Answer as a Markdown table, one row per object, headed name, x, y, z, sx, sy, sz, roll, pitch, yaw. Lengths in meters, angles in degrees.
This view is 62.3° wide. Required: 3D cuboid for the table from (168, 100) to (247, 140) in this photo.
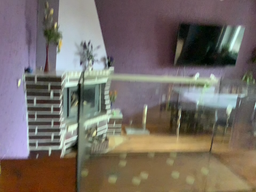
| name | x | y | z | sx | sy | sz | roll | pitch | yaw |
| --- | --- | --- | --- | --- | --- | --- | --- | --- | --- |
| table | 1.420 | 0.420 | 3.900 | 1.170 | 0.560 | 0.580 | 1 | 13 | -10 |
